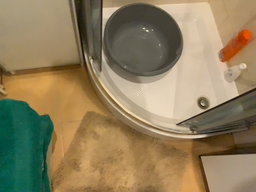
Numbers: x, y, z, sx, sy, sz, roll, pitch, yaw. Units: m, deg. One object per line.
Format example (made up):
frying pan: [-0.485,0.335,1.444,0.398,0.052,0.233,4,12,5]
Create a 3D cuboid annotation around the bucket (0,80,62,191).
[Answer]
bucket: [-0.450,0.240,0.860,0.270,0.510,0.450,-3,74,-9]
